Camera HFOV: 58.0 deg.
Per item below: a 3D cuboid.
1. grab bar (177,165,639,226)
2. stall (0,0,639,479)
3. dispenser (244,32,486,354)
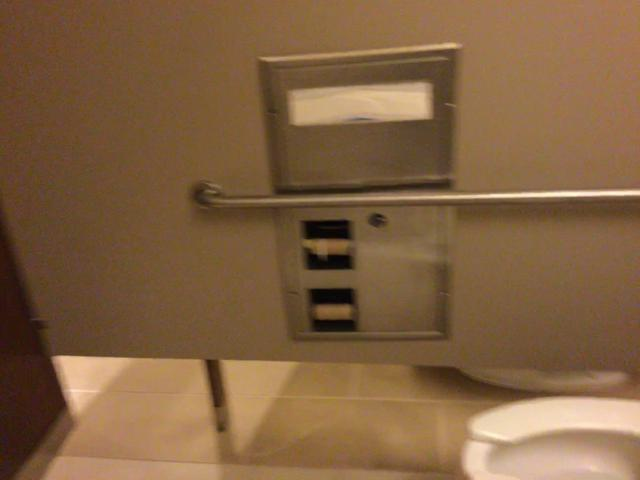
[{"bbox_3d":[0.270,-0.100,1.340,1.240,0.100,0.070,0,25,11],"label":"grab bar"},{"bbox_3d":[0.090,-0.010,1.490,1.950,1.370,0.190,0,25,11],"label":"stall"},{"bbox_3d":[0.130,-0.080,1.450,0.520,0.790,0.110,0,25,11],"label":"dispenser"}]
